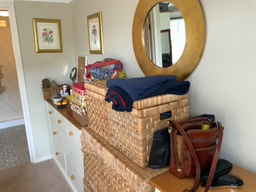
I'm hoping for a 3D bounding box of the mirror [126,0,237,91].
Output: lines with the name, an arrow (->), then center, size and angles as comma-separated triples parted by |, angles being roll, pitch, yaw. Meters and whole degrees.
mirror -> 0.280, -0.430, 1.400 | 0.170, 0.660, 0.780 | -11, 16, -33
